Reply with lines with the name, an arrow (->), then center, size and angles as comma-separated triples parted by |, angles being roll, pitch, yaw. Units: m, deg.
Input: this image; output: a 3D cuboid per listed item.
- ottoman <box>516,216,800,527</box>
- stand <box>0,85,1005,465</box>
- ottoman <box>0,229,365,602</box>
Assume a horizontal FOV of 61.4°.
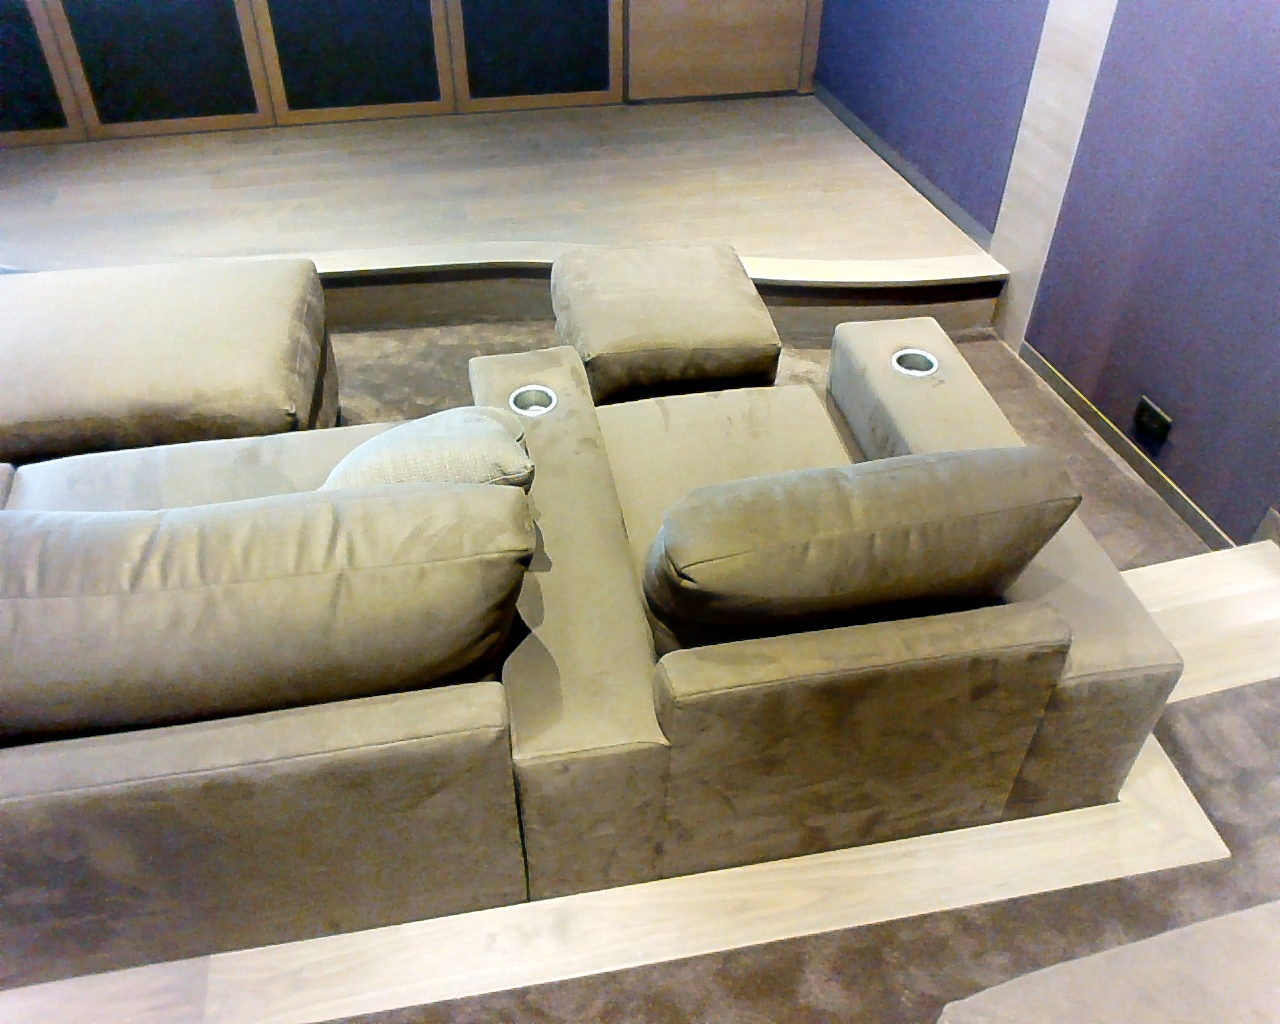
ottoman -> 0.020, -0.380, 2.810 | 0.580, 0.510, 0.580 | -8, 42, -10
stand -> -0.820, -0.890, 3.590 | 3.580, 0.230, 1.590 | -9, 42, -11
ottoman -> -1.280, -0.250, 2.630 | 1.090, 0.520, 0.730 | -5, 42, -7
